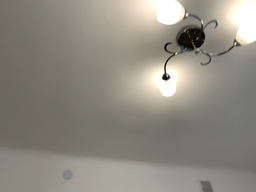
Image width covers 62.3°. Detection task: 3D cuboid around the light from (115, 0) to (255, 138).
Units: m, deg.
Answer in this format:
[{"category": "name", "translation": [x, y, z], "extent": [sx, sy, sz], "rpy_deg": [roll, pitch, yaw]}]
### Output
[{"category": "light", "translation": [0.310, -0.240, 1.130], "extent": [0.200, 0.720, 0.740], "rpy_deg": [-40, 46, -17]}]
